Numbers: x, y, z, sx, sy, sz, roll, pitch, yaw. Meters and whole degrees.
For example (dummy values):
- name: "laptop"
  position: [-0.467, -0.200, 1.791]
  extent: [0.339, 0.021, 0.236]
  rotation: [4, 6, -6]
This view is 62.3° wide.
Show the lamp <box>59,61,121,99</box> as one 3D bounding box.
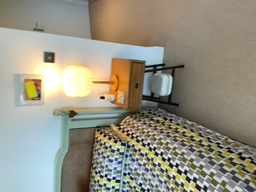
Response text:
- name: "lamp"
  position: [-0.330, -0.140, 1.820]
  extent: [0.260, 0.450, 0.280]
  rotation: [21, 109, 58]
